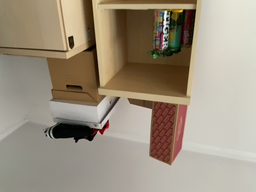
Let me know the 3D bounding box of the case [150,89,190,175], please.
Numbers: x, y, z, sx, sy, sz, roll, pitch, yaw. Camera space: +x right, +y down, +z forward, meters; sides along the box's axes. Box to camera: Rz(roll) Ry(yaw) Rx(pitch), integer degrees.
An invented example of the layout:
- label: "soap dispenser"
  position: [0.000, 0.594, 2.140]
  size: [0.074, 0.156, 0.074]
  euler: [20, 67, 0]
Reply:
- label: "case"
  position: [0.210, 0.180, 1.080]
  size: [0.150, 0.380, 0.180]
  euler: [7, -152, 16]
